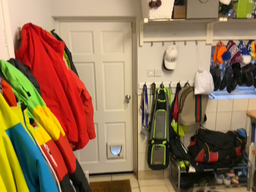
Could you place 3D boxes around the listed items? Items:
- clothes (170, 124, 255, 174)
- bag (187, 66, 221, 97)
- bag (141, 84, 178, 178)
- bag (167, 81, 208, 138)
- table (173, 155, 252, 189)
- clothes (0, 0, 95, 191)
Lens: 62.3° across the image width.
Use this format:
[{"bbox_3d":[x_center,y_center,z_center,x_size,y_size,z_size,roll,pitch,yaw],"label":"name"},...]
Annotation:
[{"bbox_3d":[1.010,0.610,2.500,0.950,0.430,0.310,-2,13,-4],"label":"clothes"},{"bbox_3d":[0.850,-0.170,2.400,0.270,0.310,0.230,-2,13,-6],"label":"bag"},{"bbox_3d":[0.350,0.420,2.500,0.380,1.090,0.180,-2,13,-4],"label":"bag"},{"bbox_3d":[0.670,0.150,2.450,0.380,0.600,0.210,-3,13,-8],"label":"bag"},{"bbox_3d":[1.040,0.950,2.670,0.880,0.270,0.250,-2,13,-4],"label":"table"},{"bbox_3d":[-0.520,0.310,1.630,0.380,1.620,2.040,-2,13,-6],"label":"clothes"}]
